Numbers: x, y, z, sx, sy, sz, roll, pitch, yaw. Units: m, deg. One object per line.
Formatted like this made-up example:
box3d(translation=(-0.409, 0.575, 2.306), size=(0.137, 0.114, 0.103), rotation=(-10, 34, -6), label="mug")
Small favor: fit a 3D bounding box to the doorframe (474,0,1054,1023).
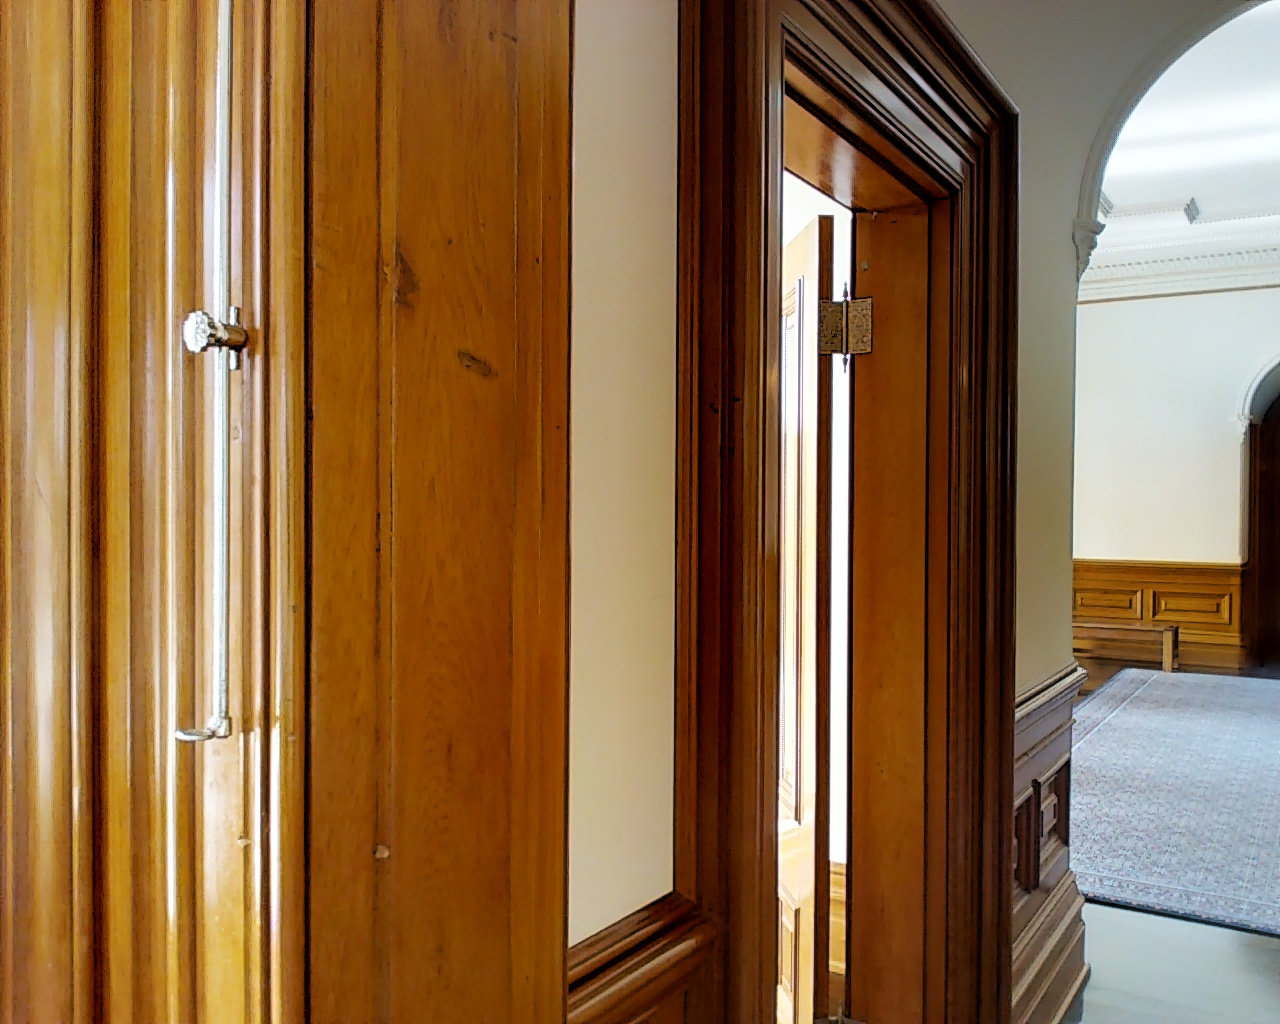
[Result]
box3d(translation=(0.390, 0.240, 2.160), size=(0.470, 2.540, 1.620), rotation=(1, 1, 32), label="doorframe")
